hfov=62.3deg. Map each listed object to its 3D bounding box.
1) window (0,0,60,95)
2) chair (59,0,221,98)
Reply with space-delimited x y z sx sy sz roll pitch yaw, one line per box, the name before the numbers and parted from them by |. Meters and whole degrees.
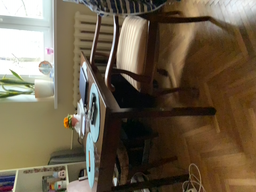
window | -1.640 -0.750 2.110 0.160 1.830 1.530 -132 45 -62
chair | 0.000 -0.390 1.500 0.580 0.920 0.610 -127 41 -59
